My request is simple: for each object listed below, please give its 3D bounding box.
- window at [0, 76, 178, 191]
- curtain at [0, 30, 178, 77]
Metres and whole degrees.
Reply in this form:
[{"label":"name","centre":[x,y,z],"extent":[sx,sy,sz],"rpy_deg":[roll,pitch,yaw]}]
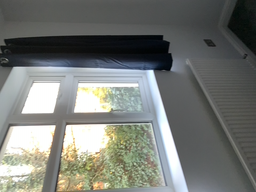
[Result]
[{"label":"window","centre":[-0.320,0.330,1.530],"extent":[1.510,1.170,0.050],"rpy_deg":[-98,10,-48]},{"label":"curtain","centre":[-0.300,-0.380,1.880],"extent":[0.400,1.380,0.220],"rpy_deg":[-98,10,-49]}]
